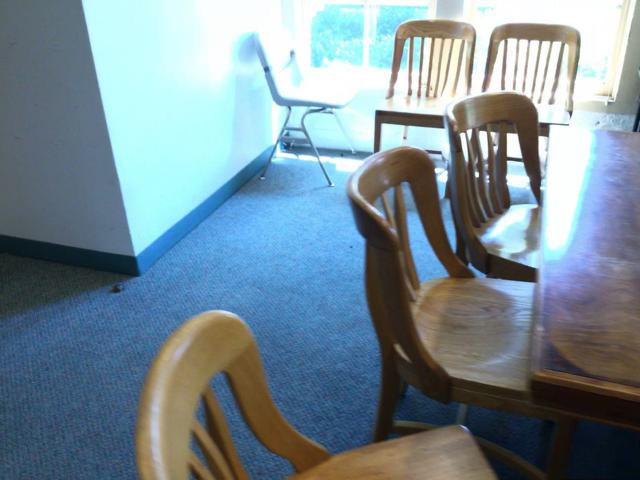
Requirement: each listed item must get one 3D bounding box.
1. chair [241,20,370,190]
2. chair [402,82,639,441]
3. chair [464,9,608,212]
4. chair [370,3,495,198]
[{"bbox_3d":[-0.050,-0.810,3.370,0.520,0.810,0.600,9,30,19],"label":"chair"},{"bbox_3d":[0.680,0.010,1.820,0.610,0.820,0.630,14,32,27],"label":"chair"},{"bbox_3d":[1.090,-0.690,2.970,0.530,0.860,0.590,9,30,20],"label":"chair"},{"bbox_3d":[0.630,-0.810,3.230,0.500,0.880,0.720,9,30,20],"label":"chair"}]
